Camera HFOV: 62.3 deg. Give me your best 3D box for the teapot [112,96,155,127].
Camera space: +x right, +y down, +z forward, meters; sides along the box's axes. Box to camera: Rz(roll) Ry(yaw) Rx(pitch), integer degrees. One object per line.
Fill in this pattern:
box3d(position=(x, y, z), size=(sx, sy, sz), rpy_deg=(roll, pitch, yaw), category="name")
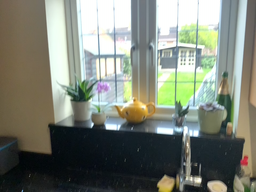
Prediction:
box3d(position=(0.040, 0.090, 1.290), size=(0.230, 0.140, 0.160), rpy_deg=(2, 12, 15), category="teapot")
